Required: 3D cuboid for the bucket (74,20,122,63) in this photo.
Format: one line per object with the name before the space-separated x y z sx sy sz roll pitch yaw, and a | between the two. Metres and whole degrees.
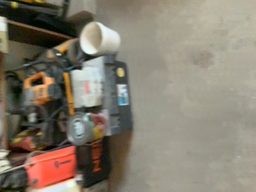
bucket | -0.230 -0.410 1.650 0.250 0.260 0.230 -5 88 35
